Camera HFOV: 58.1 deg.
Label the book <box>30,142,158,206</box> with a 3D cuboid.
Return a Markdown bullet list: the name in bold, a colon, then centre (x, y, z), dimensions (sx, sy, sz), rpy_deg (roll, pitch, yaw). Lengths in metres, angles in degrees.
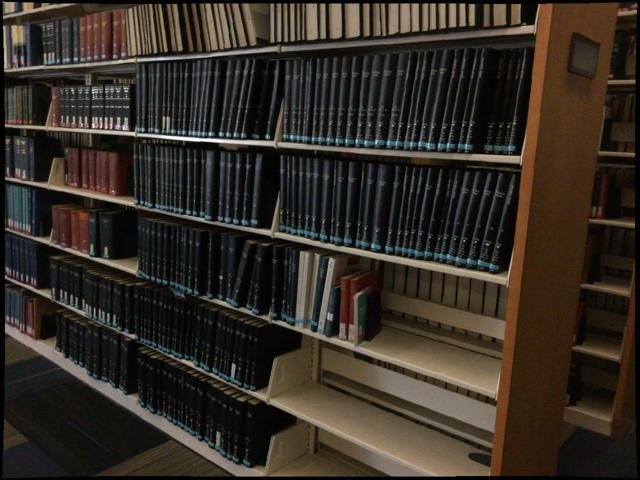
- **book**: centre (-1.287, -0.391, 3.240), dimensions (0.869, 0.271, 0.280), rpy_deg (11, 16, 40)

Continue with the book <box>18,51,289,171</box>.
- **book**: centre (-0.928, -0.622, 2.760), dimensions (2.017, 0.421, 0.140), rpy_deg (11, 16, 40)

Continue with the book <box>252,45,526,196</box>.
- **book**: centre (0.150, -0.391, 1.870), dimensions (0.979, 0.391, 0.100), rpy_deg (11, 16, 40)

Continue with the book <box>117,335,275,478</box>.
- **book**: centre (-0.608, 0.732, 2.680), dimensions (0.989, 0.311, 0.140), rpy_deg (11, 16, 40)

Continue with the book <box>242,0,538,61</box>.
- **book**: centre (0.160, -0.732, 1.830), dimensions (0.999, 0.251, 0.190), rpy_deg (11, 16, 40)

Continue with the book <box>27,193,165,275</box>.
- **book**: centre (-1.287, -0.060, 3.260), dimensions (0.979, 0.291, 0.280), rpy_deg (11, 16, 40)

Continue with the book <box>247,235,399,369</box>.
- **book**: centre (0.000, 0.211, 2.200), dimensions (0.519, 0.351, 0.270), rpy_deg (11, 16, 39)

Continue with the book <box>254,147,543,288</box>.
- **book**: centre (0.199, -0.120, 1.960), dimensions (1.009, 0.331, 0.210), rpy_deg (11, 16, 40)

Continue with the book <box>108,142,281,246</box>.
- **book**: centre (-0.588, -0.231, 2.520), dimensions (1.039, 0.341, 0.130), rpy_deg (11, 16, 40)

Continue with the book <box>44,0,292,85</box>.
- **book**: centre (-0.768, -0.882, 2.620), dimensions (1.518, 0.301, 0.260), rpy_deg (11, 16, 40)

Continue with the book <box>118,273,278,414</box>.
- **book**: centre (-0.588, 0.431, 2.620), dimensions (0.989, 0.361, 0.130), rpy_deg (11, 16, 40)

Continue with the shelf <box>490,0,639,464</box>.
- **shelf**: centre (1.476, -0.201, 2.970), dimensions (0.759, 2.366, 0.669), rpy_deg (11, 16, 39)

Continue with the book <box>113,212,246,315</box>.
- **book**: centre (-0.648, 0.080, 2.580), dimensions (0.769, 0.311, 0.150), rpy_deg (11, 16, 40)
